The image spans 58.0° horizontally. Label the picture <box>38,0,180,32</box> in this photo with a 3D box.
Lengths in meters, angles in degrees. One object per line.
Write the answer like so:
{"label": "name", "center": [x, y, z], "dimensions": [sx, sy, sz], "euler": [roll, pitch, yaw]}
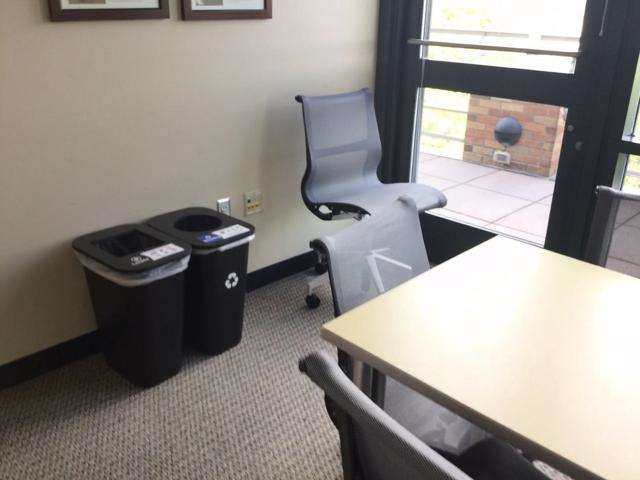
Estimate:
{"label": "picture", "center": [-0.700, -0.860, 1.930], "dimensions": [0.470, 0.300, 0.050], "euler": [-20, 28, -40]}

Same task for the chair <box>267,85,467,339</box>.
{"label": "chair", "center": [0.200, -0.180, 2.690], "dimensions": [0.530, 0.960, 0.690], "euler": [-20, 28, -40]}

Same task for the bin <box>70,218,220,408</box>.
{"label": "bin", "center": [-0.650, 0.250, 2.170], "dimensions": [0.330, 0.520, 0.410], "euler": [-20, 28, -40]}

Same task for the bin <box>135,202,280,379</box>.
{"label": "bin", "center": [-0.450, 0.180, 2.360], "dimensions": [0.380, 0.530, 0.410], "euler": [-20, 28, -40]}
